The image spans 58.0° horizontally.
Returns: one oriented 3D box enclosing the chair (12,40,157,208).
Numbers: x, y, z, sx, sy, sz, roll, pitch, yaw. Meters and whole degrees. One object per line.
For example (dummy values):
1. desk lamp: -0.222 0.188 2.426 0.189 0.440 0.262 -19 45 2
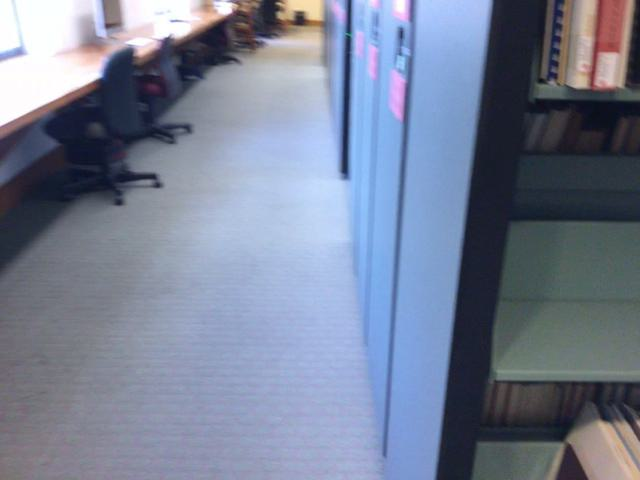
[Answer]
1. chair: -1.400 -0.730 3.580 0.580 0.890 0.600 2 23 -3
